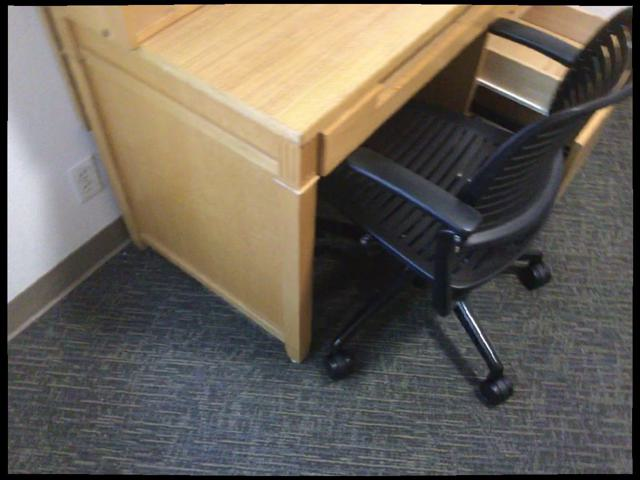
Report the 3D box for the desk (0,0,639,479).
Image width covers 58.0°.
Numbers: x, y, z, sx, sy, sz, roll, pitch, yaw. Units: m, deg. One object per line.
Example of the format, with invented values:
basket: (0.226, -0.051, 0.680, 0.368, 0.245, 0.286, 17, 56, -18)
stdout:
desk: (0.160, -0.431, 1.550, 1.379, 0.771, 1.350, 33, 58, 23)
